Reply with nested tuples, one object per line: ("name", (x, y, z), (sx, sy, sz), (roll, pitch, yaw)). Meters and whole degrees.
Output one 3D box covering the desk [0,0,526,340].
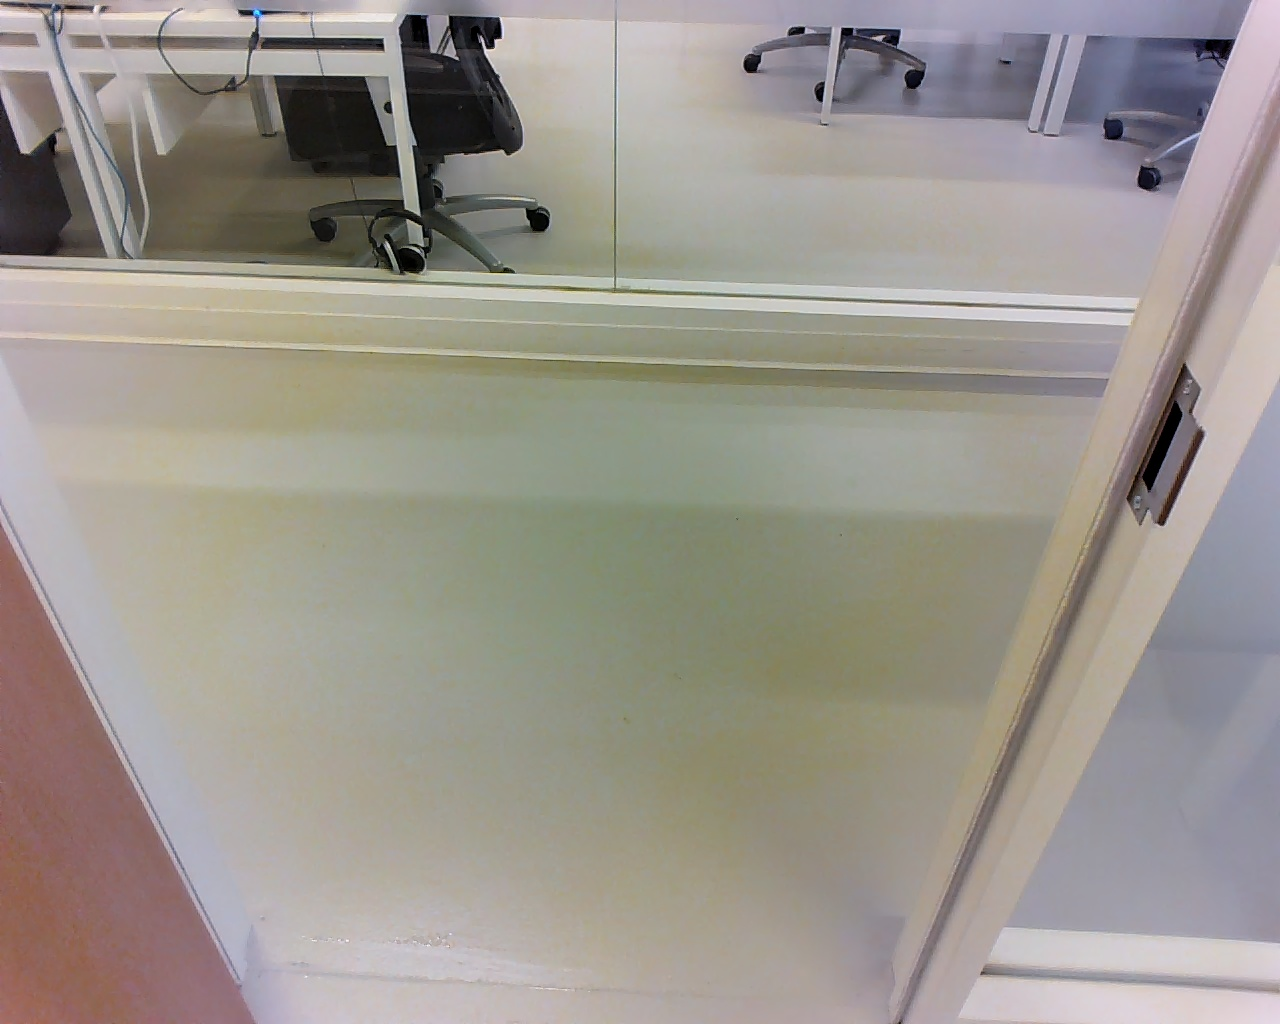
("desk", (-1.290, -1.480, 3.310), (1.590, 0.770, 2.180), (2, 42, 1))
